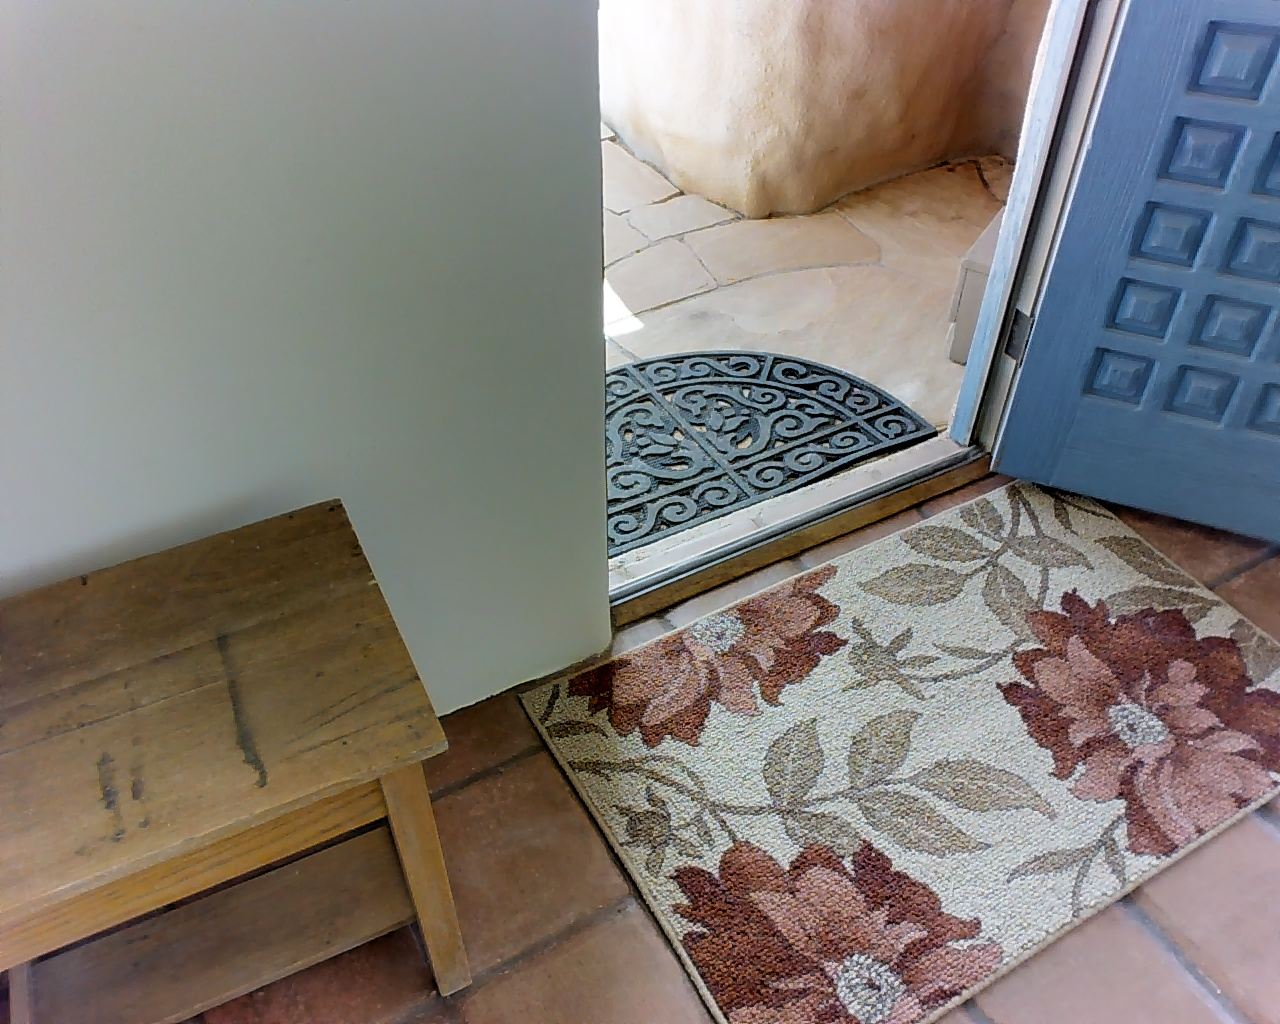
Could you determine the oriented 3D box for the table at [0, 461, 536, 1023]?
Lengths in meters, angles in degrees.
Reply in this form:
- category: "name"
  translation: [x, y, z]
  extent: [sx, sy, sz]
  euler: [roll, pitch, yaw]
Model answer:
- category: "table"
  translation: [-0.560, 0.410, 1.310]
  extent: [0.680, 0.600, 0.490]
  euler: [-20, 46, -21]
